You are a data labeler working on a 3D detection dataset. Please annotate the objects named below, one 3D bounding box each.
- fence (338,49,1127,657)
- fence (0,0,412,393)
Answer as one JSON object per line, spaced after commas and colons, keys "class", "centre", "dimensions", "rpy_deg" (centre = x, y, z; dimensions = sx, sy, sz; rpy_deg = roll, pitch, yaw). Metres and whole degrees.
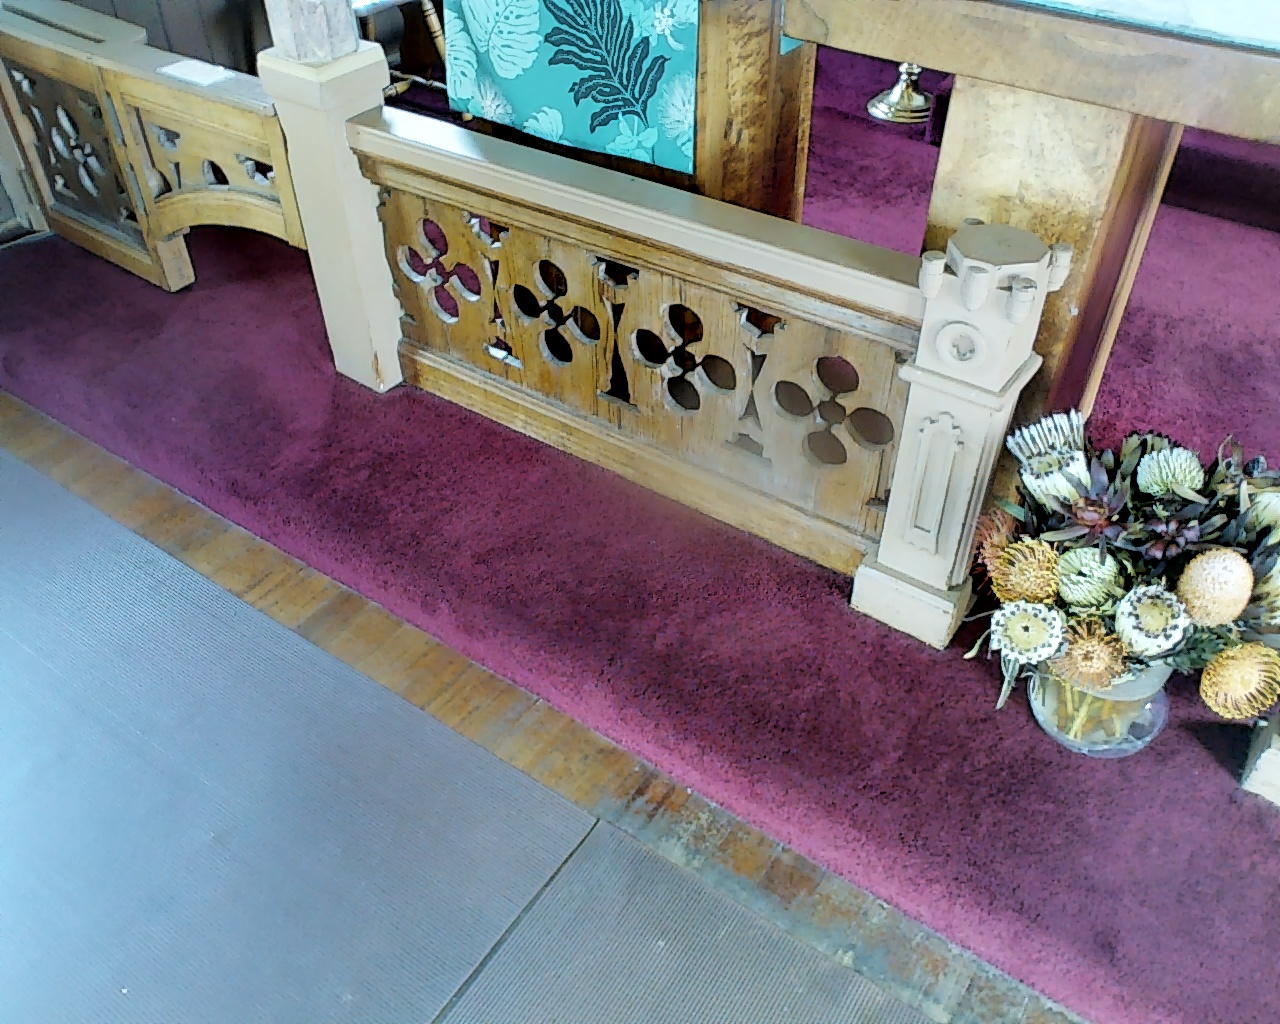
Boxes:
{"class": "fence", "centre": [0.070, -0.320, 1.930], "dimensions": [1.320, 0.680, 0.220], "rpy_deg": [25, 48, 25]}
{"class": "fence", "centre": [-1.130, -0.800, 2.530], "dimensions": [1.310, 0.630, 0.200], "rpy_deg": [25, 48, 25]}
